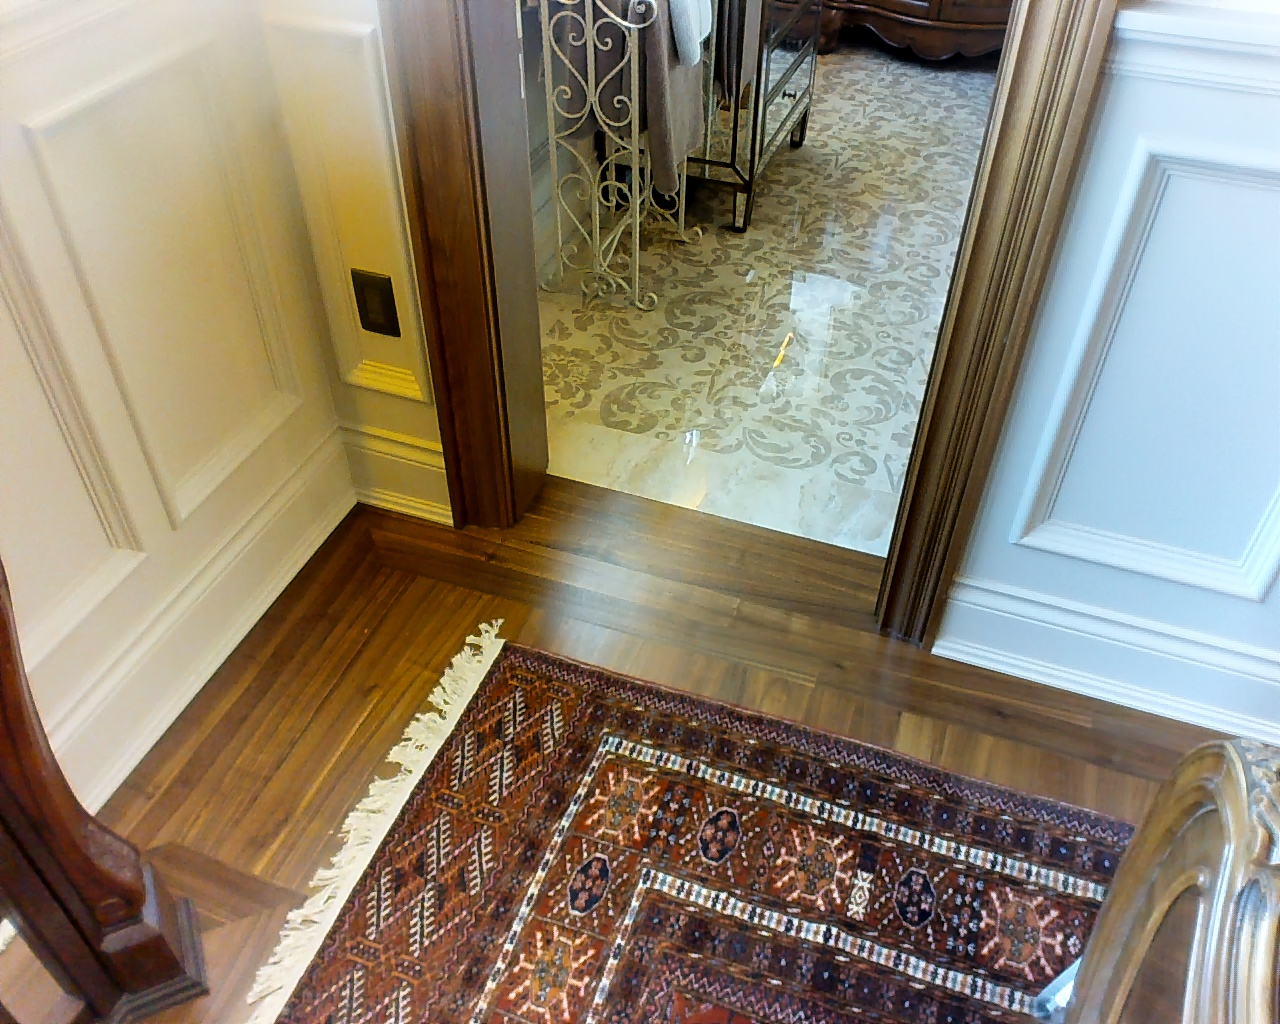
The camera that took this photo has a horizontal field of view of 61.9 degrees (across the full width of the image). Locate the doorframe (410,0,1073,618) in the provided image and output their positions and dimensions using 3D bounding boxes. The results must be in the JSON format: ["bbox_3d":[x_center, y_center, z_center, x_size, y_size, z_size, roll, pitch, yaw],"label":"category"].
[{"bbox_3d":[0.120,-0.780,1.420,0.900,2.170,0.180,15,44,15],"label":"doorframe"}]

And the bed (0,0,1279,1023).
[{"bbox_3d":[0.550,-0.500,1.580,2.090,1.520,1.590,15,44,15],"label":"bed"}]
